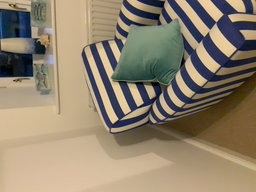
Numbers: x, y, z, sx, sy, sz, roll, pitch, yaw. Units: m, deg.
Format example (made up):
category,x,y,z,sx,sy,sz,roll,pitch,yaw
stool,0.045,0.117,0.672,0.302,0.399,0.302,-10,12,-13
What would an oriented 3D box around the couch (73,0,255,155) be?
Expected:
category,x,y,z,sx,sy,sz,roll,pitch,yaw
couch,0.260,-0.340,1.330,0.920,0.840,0.920,65,144,30
